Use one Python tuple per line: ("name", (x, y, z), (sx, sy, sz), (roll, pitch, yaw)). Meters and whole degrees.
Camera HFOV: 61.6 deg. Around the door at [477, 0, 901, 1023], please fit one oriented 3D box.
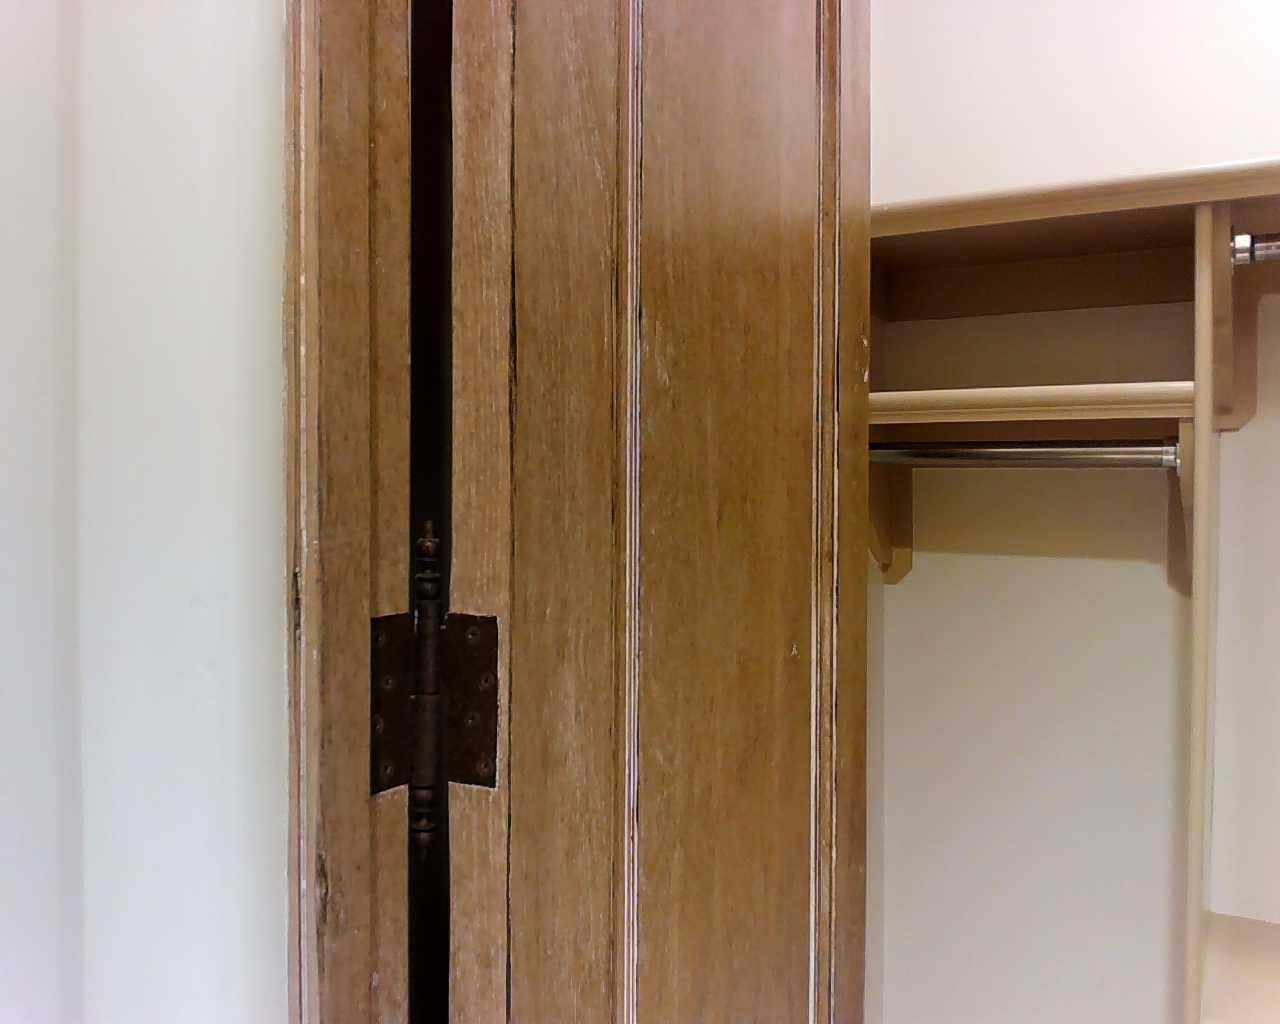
("door", (0.110, 0.440, 0.970), (0.040, 2.191, 0.800), (0, 1, 28))
